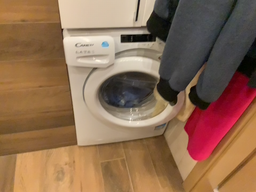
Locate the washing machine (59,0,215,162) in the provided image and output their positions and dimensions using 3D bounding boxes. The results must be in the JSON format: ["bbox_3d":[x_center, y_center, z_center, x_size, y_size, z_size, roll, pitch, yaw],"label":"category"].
[{"bbox_3d":[-0.050,-0.130,1.270,0.590,0.850,0.580,-7,47,-14],"label":"washing machine"}]
